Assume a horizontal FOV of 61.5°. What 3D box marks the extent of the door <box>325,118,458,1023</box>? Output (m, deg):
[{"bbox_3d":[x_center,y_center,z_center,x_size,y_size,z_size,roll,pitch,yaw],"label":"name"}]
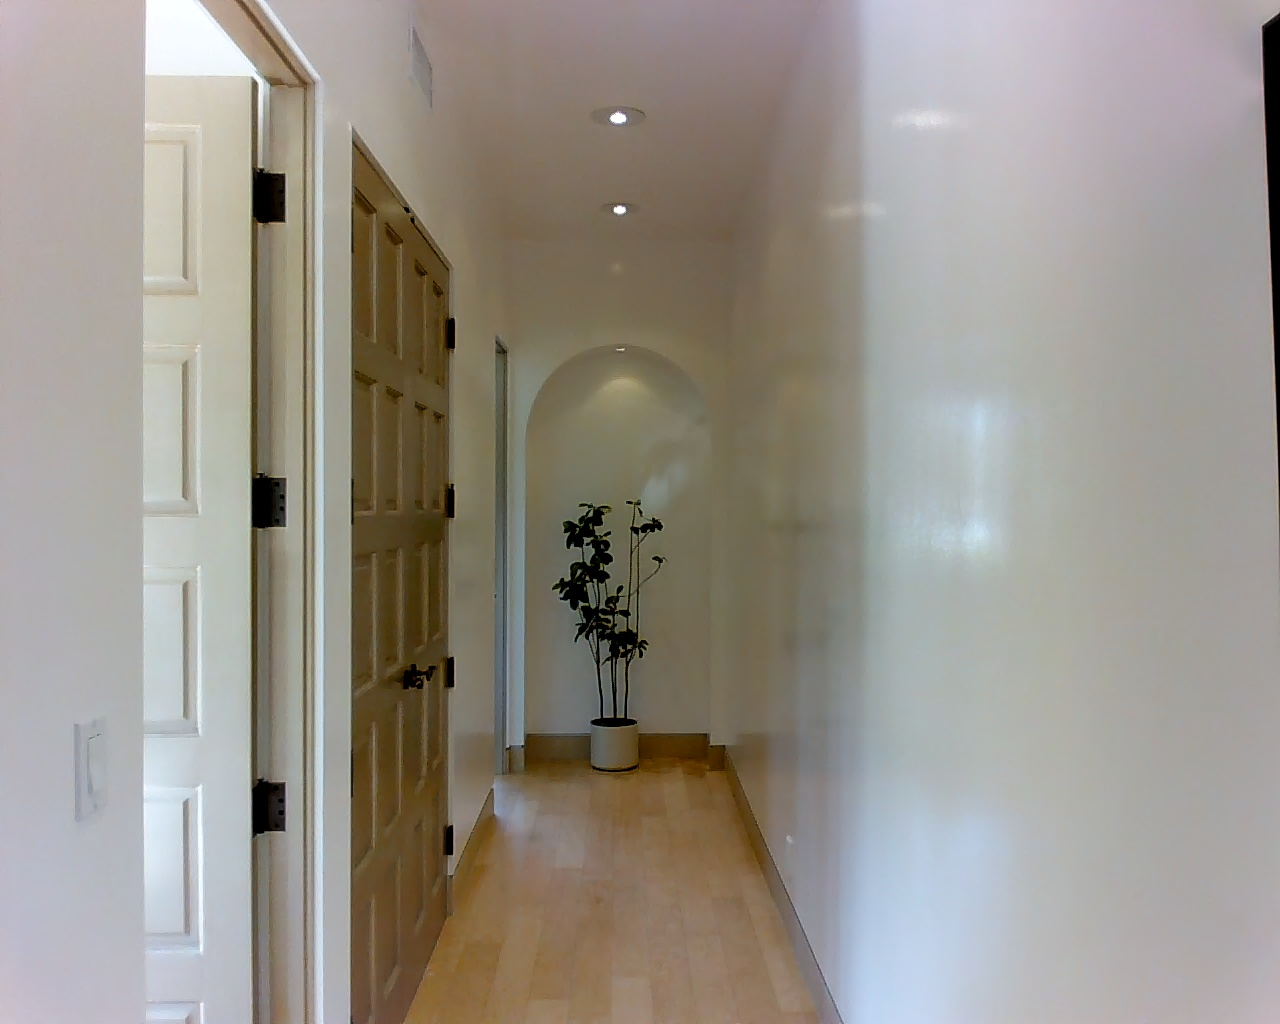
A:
[{"bbox_3d":[-0.700,0.310,3.250,0.070,2.411,1.630,0,1,-2],"label":"door"}]
